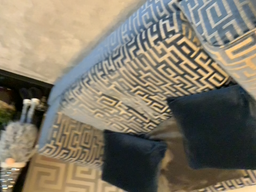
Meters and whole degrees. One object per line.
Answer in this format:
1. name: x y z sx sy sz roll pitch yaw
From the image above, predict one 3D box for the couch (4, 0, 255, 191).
1. couch: 0.230 0.160 1.340 1.200 0.760 1.460 29 137 -35
